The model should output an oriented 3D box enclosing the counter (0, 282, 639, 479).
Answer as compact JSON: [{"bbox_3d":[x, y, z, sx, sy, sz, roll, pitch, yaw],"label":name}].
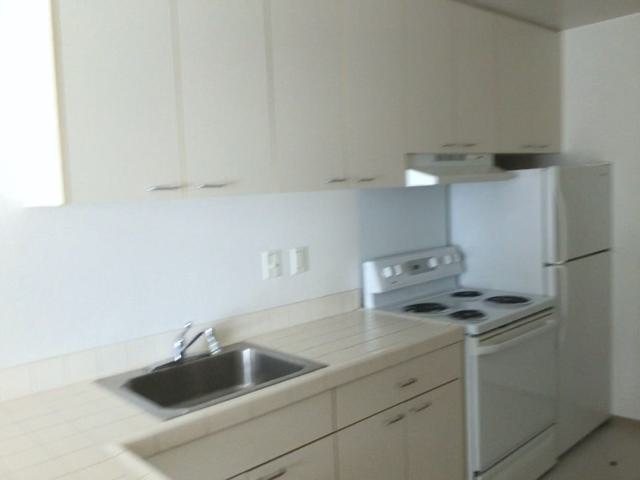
[{"bbox_3d":[0.210,0.440,1.940,2.920,0.080,1.400,-8,6,-41],"label":"counter"}]

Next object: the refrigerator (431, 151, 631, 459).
[{"bbox_3d":[1.210,0.290,3.280,0.800,1.480,0.660,-10,6,-41],"label":"refrigerator"}]
